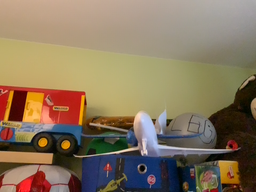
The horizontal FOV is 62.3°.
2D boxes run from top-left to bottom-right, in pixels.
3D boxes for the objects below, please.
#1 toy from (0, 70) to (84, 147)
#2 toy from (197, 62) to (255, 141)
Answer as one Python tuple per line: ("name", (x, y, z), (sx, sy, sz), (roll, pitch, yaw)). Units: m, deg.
("toy", (-0.560, 0.060, 0.960), (0.680, 0.260, 0.270), (6, -21, -10))
("toy", (0.670, 0.060, 1.120), (0.450, 0.280, 0.360), (6, -21, -9))
